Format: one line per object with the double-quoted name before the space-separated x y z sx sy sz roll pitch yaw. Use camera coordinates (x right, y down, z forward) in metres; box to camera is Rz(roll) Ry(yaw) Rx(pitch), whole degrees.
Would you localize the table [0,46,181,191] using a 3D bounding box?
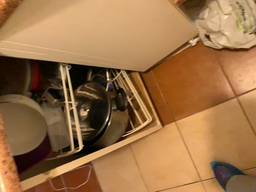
"table" -0.210 0.140 0.810 0.520 0.850 0.310 -28 79 27
